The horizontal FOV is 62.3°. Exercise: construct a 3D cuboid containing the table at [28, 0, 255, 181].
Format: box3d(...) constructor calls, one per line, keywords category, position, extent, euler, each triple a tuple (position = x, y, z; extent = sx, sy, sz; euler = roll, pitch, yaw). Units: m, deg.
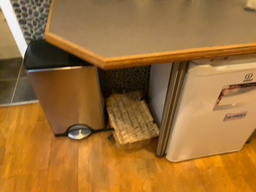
box3d(category="table", position=(0.500, -0.100, 1.280), extent=(1.720, 0.920, 0.620), euler=(-6, 48, -6))
